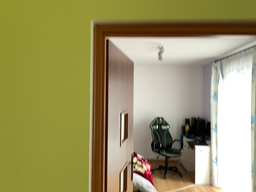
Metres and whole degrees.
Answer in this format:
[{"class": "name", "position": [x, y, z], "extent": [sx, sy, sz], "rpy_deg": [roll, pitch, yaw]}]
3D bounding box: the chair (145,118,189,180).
[{"class": "chair", "position": [0.870, 1.150, 4.870], "extent": [0.680, 1.210, 0.740], "rpy_deg": [1, 1, -20]}]
